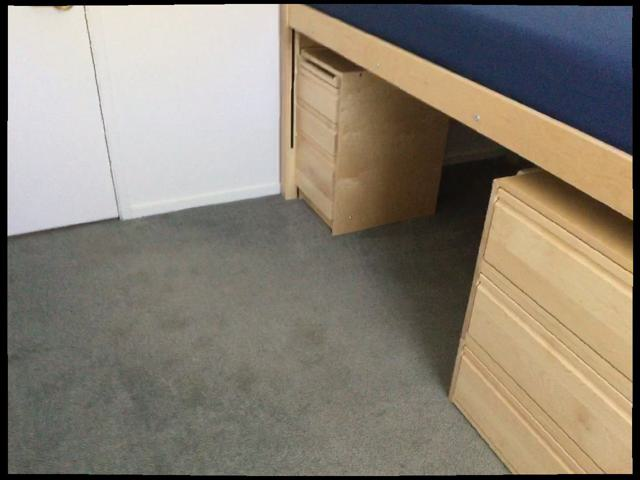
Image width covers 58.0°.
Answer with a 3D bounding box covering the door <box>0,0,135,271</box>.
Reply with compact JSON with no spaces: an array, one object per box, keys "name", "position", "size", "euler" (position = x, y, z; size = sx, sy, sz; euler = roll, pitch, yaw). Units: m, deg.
[{"name":"door","position":[-1.188,-0.792,2.090],"size":[0.719,2.033,0.090],"euler":[-13,35,-22]}]
